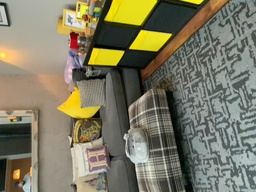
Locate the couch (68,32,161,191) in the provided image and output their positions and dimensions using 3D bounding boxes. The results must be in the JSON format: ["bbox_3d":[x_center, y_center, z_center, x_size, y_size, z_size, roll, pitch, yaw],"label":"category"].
[{"bbox_3d":[-0.270,0.750,2.800,1.190,0.730,2.820,138,127,-61],"label":"couch"}]

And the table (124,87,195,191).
[{"bbox_3d":[0.260,0.460,2.090,0.540,0.310,0.970,138,127,-61],"label":"table"}]
